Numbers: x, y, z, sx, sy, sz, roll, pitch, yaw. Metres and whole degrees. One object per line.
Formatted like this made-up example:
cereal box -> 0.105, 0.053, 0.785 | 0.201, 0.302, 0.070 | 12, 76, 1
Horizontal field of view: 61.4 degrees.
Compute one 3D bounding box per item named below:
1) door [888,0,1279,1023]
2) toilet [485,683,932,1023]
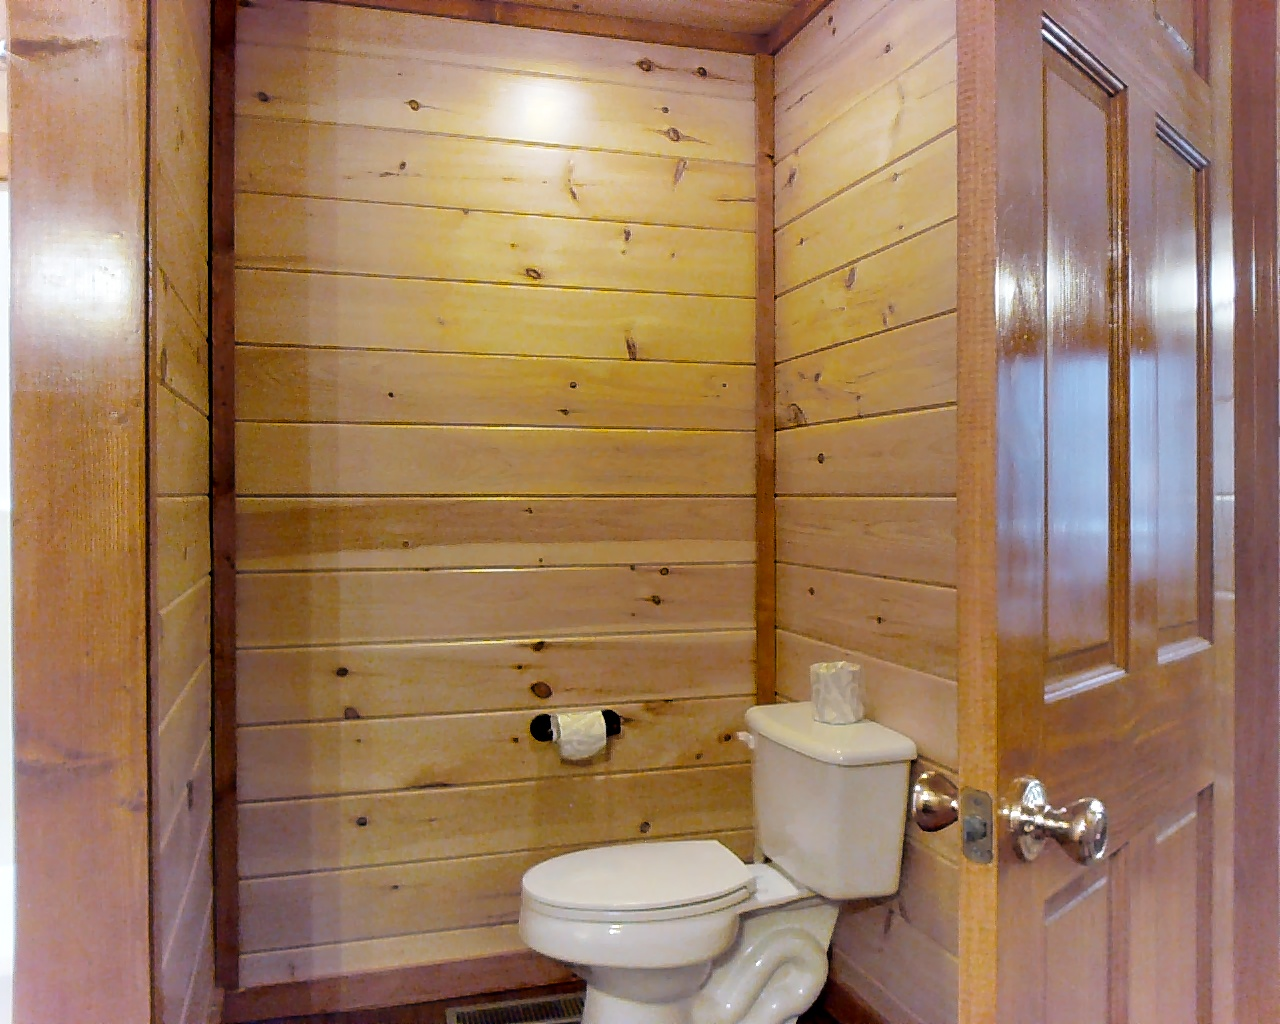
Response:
door -> 0.540, 0.120, 1.170 | 0.150, 2.051, 0.820 | 1, 0, 41
toilet -> 0.110, 0.780, 2.280 | 0.780, 0.710, 0.590 | 0, 0, -17
